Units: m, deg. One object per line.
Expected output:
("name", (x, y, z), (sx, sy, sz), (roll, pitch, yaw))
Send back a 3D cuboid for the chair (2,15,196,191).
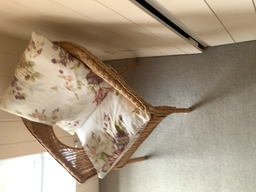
("chair", (-0.140, 0.060, 1.270), (0.600, 0.780, 0.600), (47, 113, 27))
